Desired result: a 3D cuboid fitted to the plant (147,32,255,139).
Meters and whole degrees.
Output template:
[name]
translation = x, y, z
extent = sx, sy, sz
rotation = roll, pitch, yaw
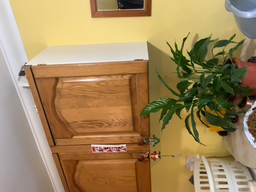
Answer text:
[plant]
translation = 0.410, -0.060, 1.020
extent = 0.320, 0.610, 0.390
rotation = -87, -6, -61
